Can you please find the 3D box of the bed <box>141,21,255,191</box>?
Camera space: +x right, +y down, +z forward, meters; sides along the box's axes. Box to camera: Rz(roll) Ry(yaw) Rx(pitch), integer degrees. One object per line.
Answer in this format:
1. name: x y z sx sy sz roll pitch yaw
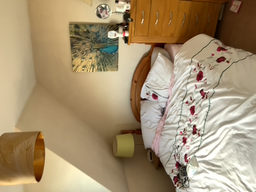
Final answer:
1. bed: 0.840 0.310 2.210 2.240 0.680 1.740 -113 25 -61
